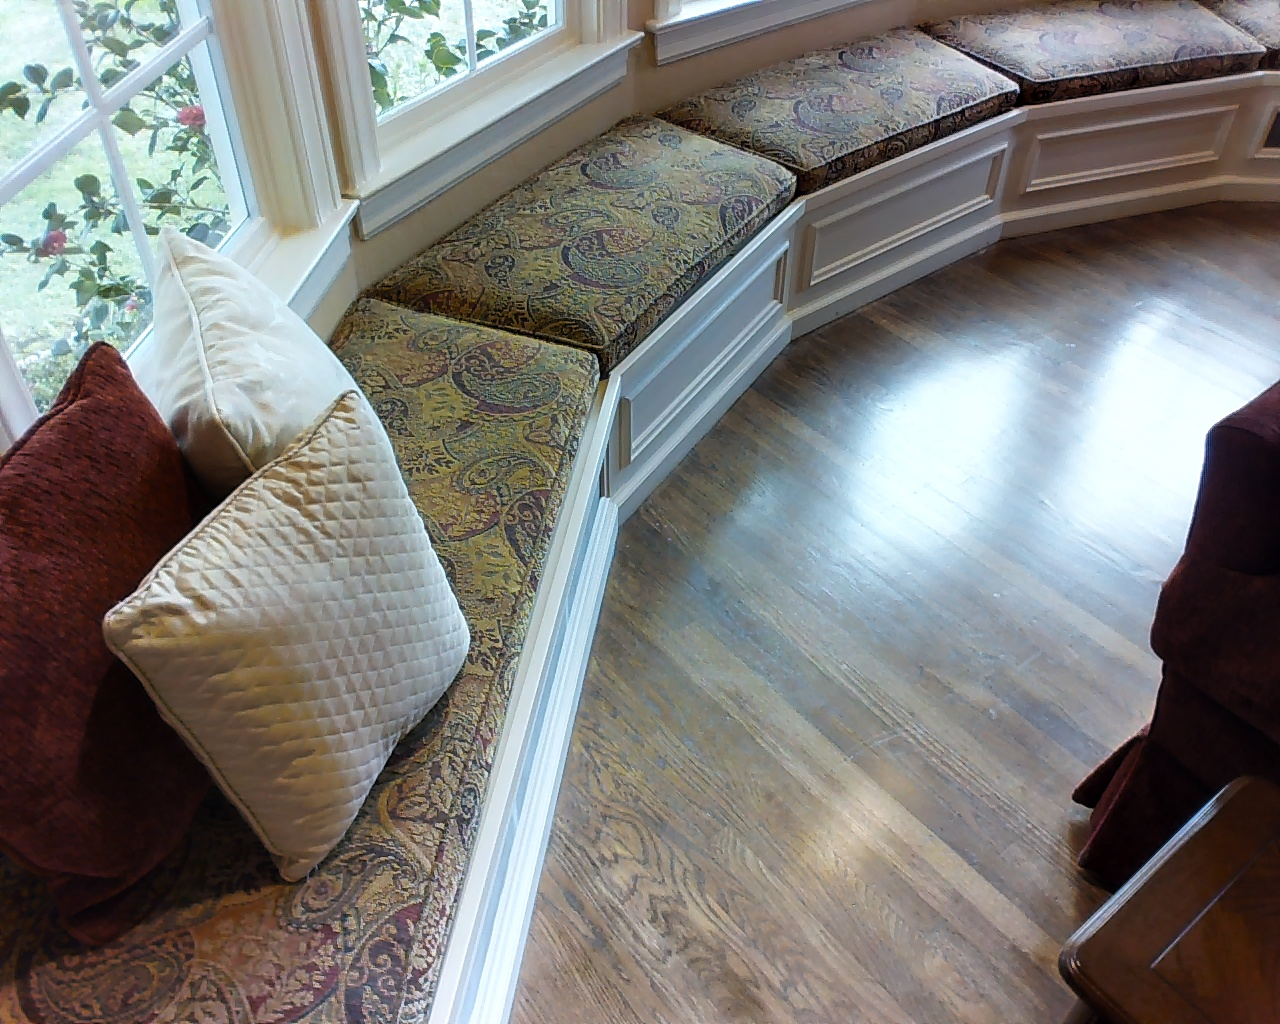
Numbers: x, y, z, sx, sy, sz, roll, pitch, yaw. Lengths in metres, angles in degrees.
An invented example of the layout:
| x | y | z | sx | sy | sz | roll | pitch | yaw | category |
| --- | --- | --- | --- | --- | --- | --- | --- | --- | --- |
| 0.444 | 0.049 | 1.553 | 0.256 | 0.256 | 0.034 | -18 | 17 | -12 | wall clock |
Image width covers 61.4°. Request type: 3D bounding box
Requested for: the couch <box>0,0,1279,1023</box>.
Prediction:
| x | y | z | sx | sy | sz | roll | pitch | yaw | category |
| --- | --- | --- | --- | --- | --- | --- | --- | --- | --- |
| 1.050 | -0.700 | 2.810 | 5.030 | 0.490 | 1.960 | -29 | 50 | -28 | couch |

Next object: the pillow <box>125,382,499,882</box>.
| x | y | z | sx | sy | sz | roll | pitch | yaw | category |
| --- | --- | --- | --- | --- | --- | --- | --- | --- | --- |
| -0.330 | 0.140 | 1.190 | 0.160 | 0.380 | 0.390 | 24 | 54 | 5 | pillow |

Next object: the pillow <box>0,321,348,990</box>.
| x | y | z | sx | sy | sz | roll | pitch | yaw | category |
| --- | --- | --- | --- | --- | --- | --- | --- | --- | --- |
| -0.560 | 0.140 | 1.150 | 0.210 | 0.450 | 0.510 | 11 | 44 | 10 | pillow |
